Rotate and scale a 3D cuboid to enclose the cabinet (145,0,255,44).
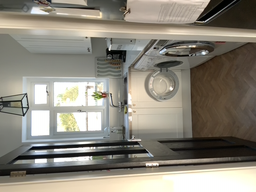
[{"bbox_3d":[0.620,-0.750,1.620,0.320,0.920,0.590,167,103,-80],"label":"cabinet"}]
